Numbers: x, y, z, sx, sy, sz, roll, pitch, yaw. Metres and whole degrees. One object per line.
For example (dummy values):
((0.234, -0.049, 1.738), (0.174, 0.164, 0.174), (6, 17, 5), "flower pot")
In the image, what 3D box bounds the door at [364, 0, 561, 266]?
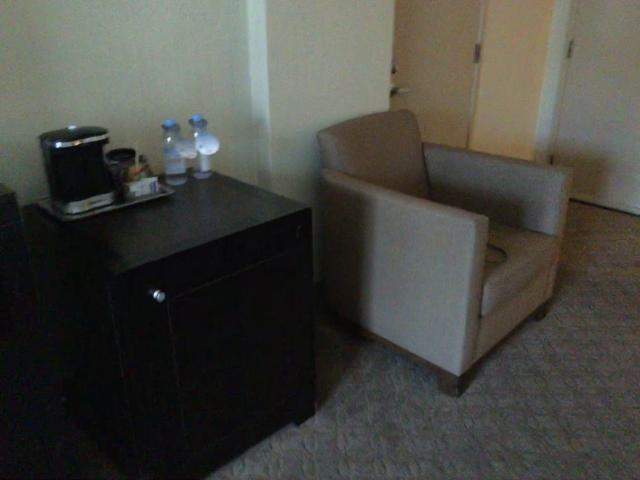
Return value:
((0.860, -1.110, 3.170), (0.140, 2.090, 1.740), (20, 32, 40), "door")

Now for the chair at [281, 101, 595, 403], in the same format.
((0.460, -0.050, 2.390), (0.880, 0.820, 0.820), (20, 32, 40), "chair")

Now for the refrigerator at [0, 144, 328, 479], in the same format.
((-0.450, 0.220, 1.850), (0.650, 0.830, 0.670), (20, 32, 39), "refrigerator")

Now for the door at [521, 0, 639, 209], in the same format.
((1.840, -1.220, 3.300), (1.100, 2.050, 0.250), (20, 32, 40), "door")
